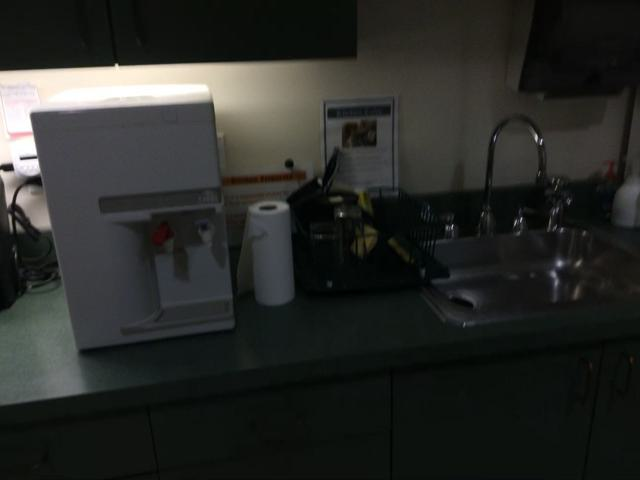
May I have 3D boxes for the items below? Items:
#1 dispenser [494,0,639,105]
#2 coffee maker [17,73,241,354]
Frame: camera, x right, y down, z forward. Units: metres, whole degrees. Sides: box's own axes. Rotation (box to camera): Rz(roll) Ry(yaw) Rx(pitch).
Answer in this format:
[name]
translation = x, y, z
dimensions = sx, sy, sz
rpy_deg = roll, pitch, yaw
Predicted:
[dispenser]
translation = 0.660, -0.520, 1.440
dimensions = 0.320, 0.320, 0.260
rpy_deg = -4, 21, -11
[coffee maker]
translation = -0.350, -0.090, 1.190
dimensions = 0.320, 0.450, 0.430
rpy_deg = -4, 21, -11
